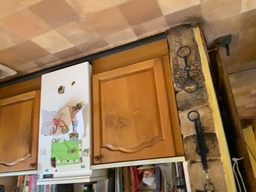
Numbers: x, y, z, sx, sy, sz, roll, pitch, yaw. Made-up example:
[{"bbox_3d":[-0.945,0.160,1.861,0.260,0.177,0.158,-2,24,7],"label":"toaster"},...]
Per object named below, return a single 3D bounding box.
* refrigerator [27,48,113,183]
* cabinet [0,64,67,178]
[{"bbox_3d":[-0.510,0.200,1.970,0.520,1.060,0.480,-12,160,20],"label":"refrigerator"},{"bbox_3d":[-1.050,0.290,2.180,0.660,1.000,0.460,-12,160,20],"label":"cabinet"}]
